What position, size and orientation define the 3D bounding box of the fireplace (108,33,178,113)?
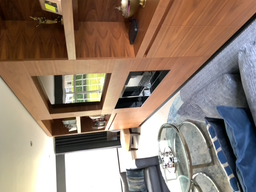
[{"bbox_3d":[0.110,-0.260,3.360,1.650,0.620,0.550,119,144,-66],"label":"fireplace"}]
